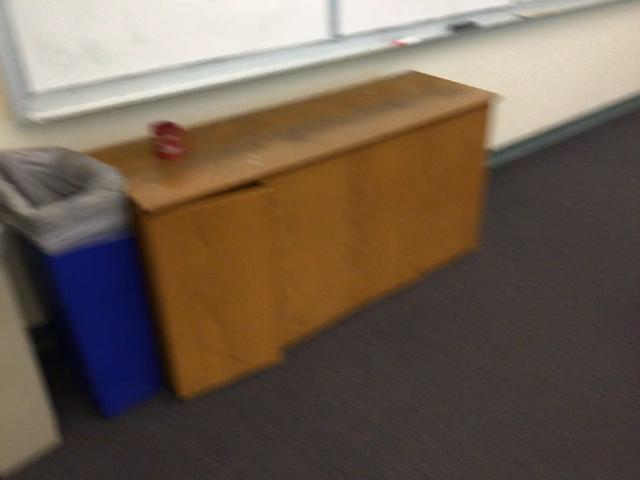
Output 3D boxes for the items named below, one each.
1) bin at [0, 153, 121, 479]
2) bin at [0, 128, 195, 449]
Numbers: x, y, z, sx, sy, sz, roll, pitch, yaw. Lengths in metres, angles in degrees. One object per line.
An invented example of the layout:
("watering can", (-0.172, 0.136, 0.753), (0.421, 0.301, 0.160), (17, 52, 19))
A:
("bin", (-0.980, 0.230, 1.640), (0.460, 0.810, 0.550), (-24, 33, -29))
("bin", (-0.730, 0.130, 1.820), (0.320, 0.800, 0.530), (-24, 33, -29))
